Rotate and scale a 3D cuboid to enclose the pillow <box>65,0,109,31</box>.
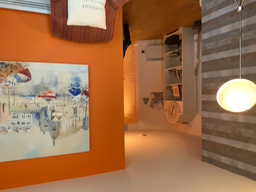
[{"bbox_3d":[-0.400,-0.840,2.050,0.380,0.330,0.150,0,165,-20],"label":"pillow"}]

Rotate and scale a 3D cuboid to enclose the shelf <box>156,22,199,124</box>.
[{"bbox_3d":[1.170,-0.500,5.150,0.480,2.210,0.960,-2,-179,-25],"label":"shelf"}]

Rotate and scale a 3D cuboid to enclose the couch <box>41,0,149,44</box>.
[{"bbox_3d":[-0.390,-1.050,1.990,0.780,0.870,0.960,-2,-179,-23],"label":"couch"}]
